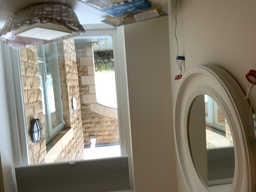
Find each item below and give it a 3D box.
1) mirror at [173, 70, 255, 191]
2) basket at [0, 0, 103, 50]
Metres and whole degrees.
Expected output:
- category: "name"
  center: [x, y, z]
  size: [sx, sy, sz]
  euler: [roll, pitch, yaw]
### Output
- category: "mirror"
  center: [0.340, 0.240, 0.910]
  size: [0.080, 0.670, 0.600]
  euler: [-4, -176, -5]
- category: "basket"
  center: [-0.440, -0.370, 1.160]
  size: [0.440, 0.140, 0.410]
  euler: [-2, -175, 24]
